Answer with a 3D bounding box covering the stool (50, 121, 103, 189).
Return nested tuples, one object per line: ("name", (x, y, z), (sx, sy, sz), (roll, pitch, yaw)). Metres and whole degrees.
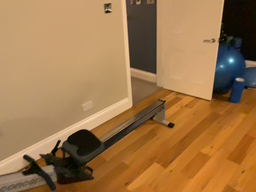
("stool", (-0.450, 0.510, 1.880), (0.340, 0.410, 0.250), (22, 35, 40))
